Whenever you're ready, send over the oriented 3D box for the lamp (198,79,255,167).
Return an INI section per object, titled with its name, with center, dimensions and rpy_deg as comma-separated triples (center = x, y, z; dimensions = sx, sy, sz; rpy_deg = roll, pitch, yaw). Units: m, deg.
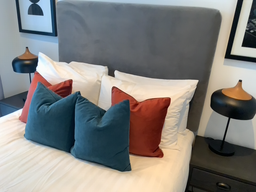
[lamp]
center = 0.700, 0.170, 1.480
dimensions = 0.280, 0.480, 0.290
rpy_deg = 14, 24, 24
